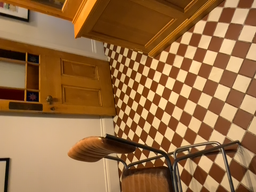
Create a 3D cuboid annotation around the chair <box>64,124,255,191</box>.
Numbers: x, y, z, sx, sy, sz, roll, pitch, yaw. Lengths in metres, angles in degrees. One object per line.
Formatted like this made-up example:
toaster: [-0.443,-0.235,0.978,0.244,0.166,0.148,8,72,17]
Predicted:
chair: [0.220,0.450,1.130,0.430,0.980,0.490,-32,59,50]
